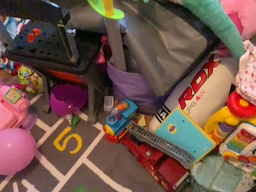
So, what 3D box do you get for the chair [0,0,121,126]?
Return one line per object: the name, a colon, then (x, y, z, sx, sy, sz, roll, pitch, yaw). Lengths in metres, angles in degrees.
chair: (-0.340, -0.240, 1.100, 0.470, 0.740, 0.400, 11, 56, 10)
